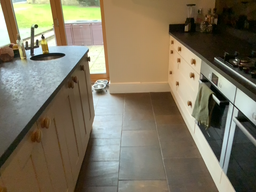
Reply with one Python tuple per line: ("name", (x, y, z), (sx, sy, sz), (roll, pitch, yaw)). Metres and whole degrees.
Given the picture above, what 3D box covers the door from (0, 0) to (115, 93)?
("door", (-1.510, -1.160, 3.400), (2.480, 2.260, 0.210), (-3, 25, -2))
